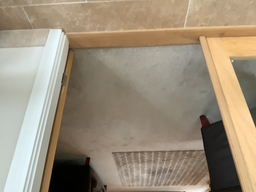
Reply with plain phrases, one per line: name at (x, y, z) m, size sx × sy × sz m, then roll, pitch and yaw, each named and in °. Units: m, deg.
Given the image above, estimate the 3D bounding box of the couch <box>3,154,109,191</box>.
couch at (-1.060, 1.860, 3.830) m, size 1.200 × 0.850 × 2.330 m, roll -1°, pitch 146°, yaw 0°
